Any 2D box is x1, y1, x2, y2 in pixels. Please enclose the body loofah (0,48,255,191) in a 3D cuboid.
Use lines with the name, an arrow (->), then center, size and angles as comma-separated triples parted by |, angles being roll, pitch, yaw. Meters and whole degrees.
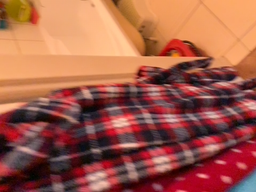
body loofah -> 0.100, 0.020, 0.470 | 0.350, 1.200, 0.150 | 30, 118, 42
